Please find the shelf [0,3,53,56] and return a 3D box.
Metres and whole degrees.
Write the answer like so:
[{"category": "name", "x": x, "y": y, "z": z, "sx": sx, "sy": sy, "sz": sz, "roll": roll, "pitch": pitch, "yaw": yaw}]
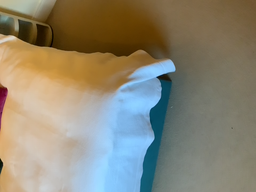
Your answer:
[{"category": "shelf", "x": -1.160, "y": -0.680, "z": 2.230, "sx": 0.330, "sy": 0.580, "sz": 0.320, "roll": -22, "pitch": 76, "yaw": 39}]
